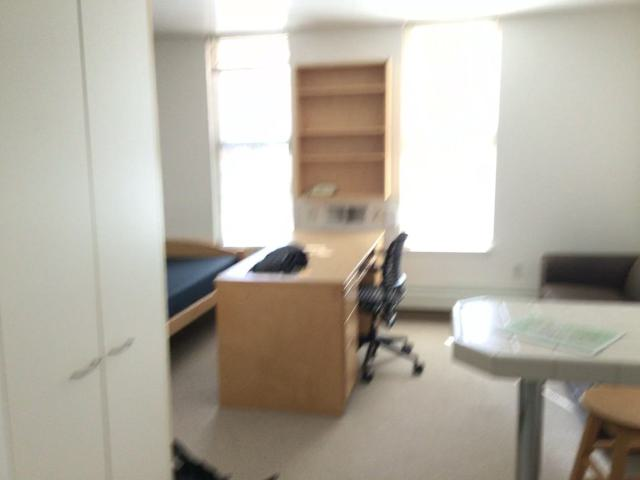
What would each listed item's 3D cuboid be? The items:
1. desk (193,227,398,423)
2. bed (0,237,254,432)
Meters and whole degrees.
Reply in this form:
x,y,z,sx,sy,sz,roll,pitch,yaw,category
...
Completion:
x,y,z,sx,sy,sz,roll,pitch,yaw,category
-0.020,0.430,4.020,0.910,0.810,1.860,0,9,14,desk
-1.550,0.490,4.210,1.420,0.710,2.190,0,9,14,bed
